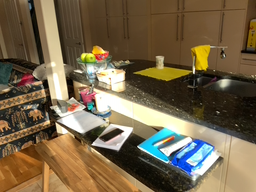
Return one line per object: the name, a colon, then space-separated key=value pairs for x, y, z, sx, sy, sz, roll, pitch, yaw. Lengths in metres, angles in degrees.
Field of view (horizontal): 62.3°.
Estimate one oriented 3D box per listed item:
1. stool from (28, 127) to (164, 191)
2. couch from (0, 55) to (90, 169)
stool: x=-0.240 y=0.690 z=1.460 sx=0.390 sy=0.450 sz=1.230 roll=-20 pitch=26 yaw=-38
couch: x=-1.880 y=0.000 z=3.080 sx=1.390 sy=0.750 sz=2.470 roll=-21 pitch=27 yaw=-40
